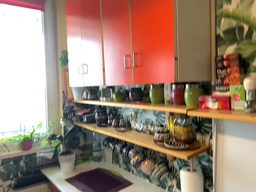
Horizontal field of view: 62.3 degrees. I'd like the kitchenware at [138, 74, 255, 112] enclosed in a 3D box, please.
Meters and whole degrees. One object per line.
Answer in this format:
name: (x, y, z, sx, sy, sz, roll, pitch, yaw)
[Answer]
kitchenware: (0.450, -0.020, 1.040, 0.110, 0.150, 1.150, -3, 3, -36)
